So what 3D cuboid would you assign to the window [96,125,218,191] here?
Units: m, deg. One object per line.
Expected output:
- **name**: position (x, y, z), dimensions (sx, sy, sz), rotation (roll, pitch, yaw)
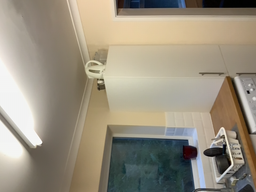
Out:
- **window**: position (0.280, 1.040, 2.090), dimensions (0.120, 1.190, 1.610), rotation (87, -174, -53)
